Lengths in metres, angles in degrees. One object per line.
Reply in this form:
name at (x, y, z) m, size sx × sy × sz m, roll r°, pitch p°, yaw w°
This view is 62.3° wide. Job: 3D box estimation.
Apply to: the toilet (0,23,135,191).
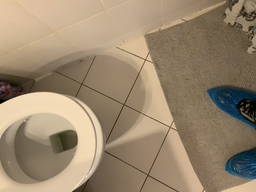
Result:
toilet at (-0.410, 0.200, 0.730) m, size 0.700 × 0.760 × 0.370 m, roll -19°, pitch 83°, yaw 7°
